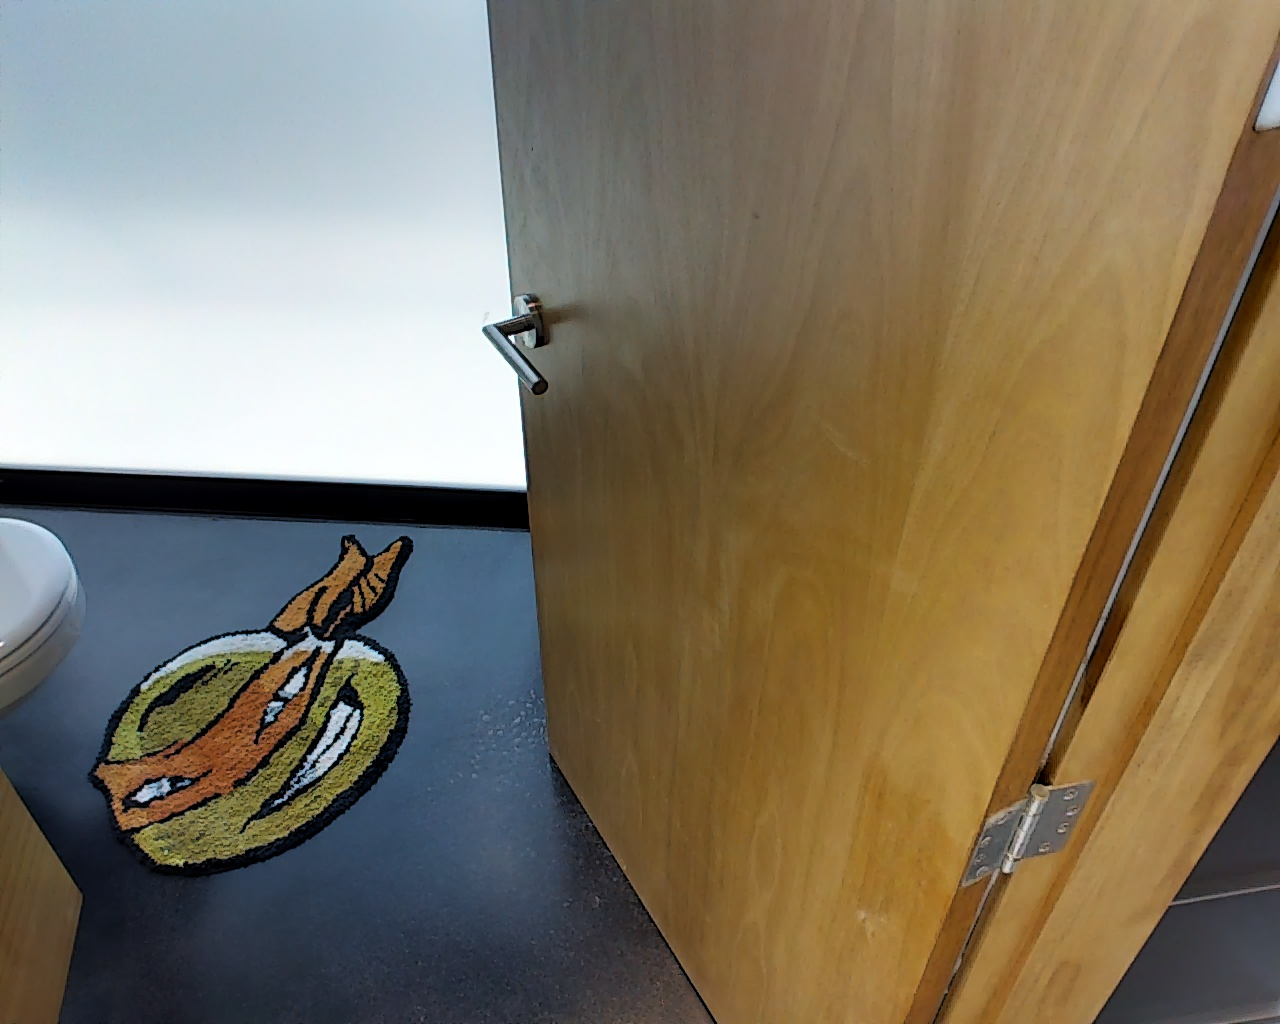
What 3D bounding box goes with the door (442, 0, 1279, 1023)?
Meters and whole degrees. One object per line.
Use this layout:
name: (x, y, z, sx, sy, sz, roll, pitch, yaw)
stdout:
door: (0.050, -0.230, 0.880, 0.070, 2.370, 0.910, -21, 46, -22)
